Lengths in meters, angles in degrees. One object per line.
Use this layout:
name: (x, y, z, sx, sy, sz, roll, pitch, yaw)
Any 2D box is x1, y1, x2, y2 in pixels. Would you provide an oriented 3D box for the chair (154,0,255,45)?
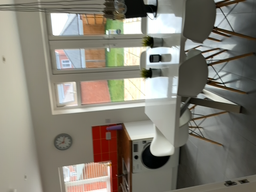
chair: (0.680, -0.700, 1.950, 0.490, 0.750, 0.410, -131, 38, -69)

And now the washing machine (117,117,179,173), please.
washing machine: (0.320, 0.840, 3.790, 0.670, 0.910, 0.600, -127, 35, -67)

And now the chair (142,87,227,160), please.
chair: (0.620, 0.280, 2.560, 0.620, 0.750, 0.600, -130, 38, -68)

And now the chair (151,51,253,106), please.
chair: (0.680, -0.210, 2.090, 0.510, 0.770, 0.400, -131, 38, -69)
